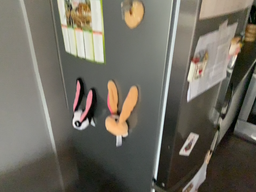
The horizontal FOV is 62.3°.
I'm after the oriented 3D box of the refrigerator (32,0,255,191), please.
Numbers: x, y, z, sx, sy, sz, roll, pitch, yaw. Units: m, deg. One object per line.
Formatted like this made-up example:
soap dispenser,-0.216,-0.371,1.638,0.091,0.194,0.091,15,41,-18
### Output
refrigerator,0.090,0.030,1.000,0.630,1.770,0.590,22,37,31
